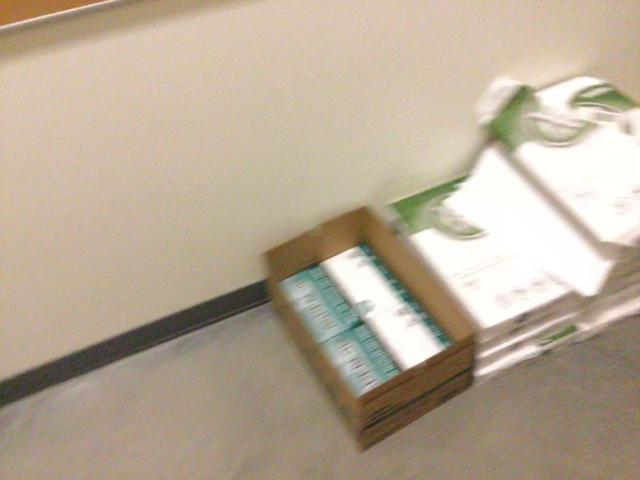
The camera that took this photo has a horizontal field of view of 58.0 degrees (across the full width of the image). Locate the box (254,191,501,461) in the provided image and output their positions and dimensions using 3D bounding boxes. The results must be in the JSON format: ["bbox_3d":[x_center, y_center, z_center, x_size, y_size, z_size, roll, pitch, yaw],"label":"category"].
[{"bbox_3d":[0.120,0.180,1.370,0.370,0.260,0.470,-23,46,-10],"label":"box"}]
